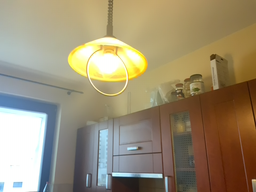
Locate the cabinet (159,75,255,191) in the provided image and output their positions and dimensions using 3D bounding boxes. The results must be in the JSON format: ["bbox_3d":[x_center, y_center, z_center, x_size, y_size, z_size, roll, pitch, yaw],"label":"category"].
[{"bbox_3d":[0.770,0.290,1.200,1.230,0.350,0.730,-20,64,47],"label":"cabinet"}]

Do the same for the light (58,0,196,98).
[{"bbox_3d":[-0.070,-0.390,0.990,0.400,0.370,0.630,-46,44,38],"label":"light"}]
